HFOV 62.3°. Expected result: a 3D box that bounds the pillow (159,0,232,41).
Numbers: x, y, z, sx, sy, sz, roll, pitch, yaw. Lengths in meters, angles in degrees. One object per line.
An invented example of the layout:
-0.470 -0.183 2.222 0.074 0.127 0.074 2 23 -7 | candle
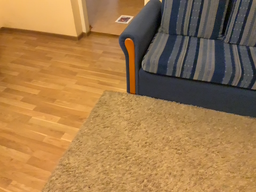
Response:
0.590 -0.750 1.890 0.550 0.410 0.170 14 27 16 | pillow

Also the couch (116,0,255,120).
0.780 -0.390 1.900 1.530 0.600 0.880 12 42 15 | couch
